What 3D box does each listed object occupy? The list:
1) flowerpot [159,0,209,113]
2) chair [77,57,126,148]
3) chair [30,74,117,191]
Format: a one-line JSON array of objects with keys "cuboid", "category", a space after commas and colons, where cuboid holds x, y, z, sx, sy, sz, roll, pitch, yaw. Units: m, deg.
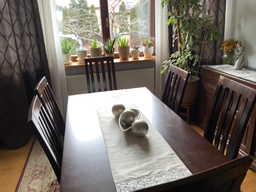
[{"cuboid": [0.760, -0.660, 2.990, 0.570, 1.690, 0.550, 2, 19, 14], "category": "flowerpot"}, {"cuboid": [-0.350, 0.050, 2.790, 0.460, 1.010, 0.560, -8, 19, -15], "category": "chair"}, {"cuboid": [-0.430, 0.360, 1.900, 0.560, 1.010, 0.430, -5, 19, -7], "category": "chair"}]
